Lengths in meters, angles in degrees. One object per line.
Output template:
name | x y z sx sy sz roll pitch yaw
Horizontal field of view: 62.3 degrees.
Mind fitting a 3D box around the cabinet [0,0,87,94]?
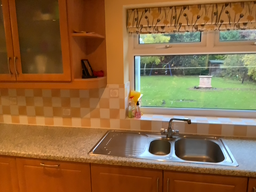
cabinet | -0.920 -0.490 1.870 0.990 0.870 0.350 1 11 12

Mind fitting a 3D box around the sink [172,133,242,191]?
sink | 0.550 0.490 1.600 0.420 0.230 0.490 1 11 12
